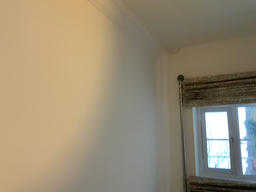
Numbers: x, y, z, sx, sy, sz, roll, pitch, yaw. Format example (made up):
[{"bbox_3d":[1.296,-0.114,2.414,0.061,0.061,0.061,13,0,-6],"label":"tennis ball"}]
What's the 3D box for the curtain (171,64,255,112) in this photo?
[{"bbox_3d":[1.580,-0.120,2.080,0.220,2.310,0.430,19,-111,-59],"label":"curtain"}]
